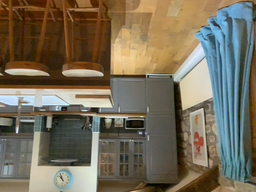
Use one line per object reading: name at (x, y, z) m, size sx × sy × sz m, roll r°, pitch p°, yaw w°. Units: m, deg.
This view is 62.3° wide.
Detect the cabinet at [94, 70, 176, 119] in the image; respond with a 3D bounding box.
cabinet at (0.140, 0.000, 4.780) m, size 1.680 × 0.940 × 0.700 m, roll 1°, pitch 169°, yaw -1°
